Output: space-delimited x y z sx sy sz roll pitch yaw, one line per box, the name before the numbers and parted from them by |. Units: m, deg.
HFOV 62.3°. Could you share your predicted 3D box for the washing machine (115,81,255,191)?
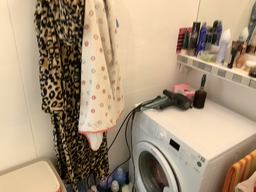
washing machine | 0.360 0.460 1.510 0.630 0.840 0.680 -15 32 -31
